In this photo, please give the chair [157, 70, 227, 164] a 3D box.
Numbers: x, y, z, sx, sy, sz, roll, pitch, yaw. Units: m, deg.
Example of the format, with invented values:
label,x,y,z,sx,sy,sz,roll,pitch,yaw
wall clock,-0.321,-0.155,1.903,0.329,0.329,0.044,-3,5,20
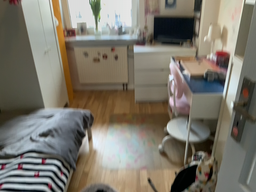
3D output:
label,x,y,z,sx,sy,sz,roll,pitch,yaw
chair,0.560,0.190,2.090,0.520,0.750,0.480,2,27,7
